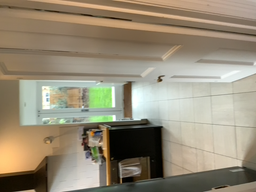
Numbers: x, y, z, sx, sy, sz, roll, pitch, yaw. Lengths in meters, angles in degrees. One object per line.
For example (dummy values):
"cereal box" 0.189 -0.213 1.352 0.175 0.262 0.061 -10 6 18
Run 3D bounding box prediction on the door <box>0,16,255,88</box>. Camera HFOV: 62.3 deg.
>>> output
"door" 0.130 -0.180 1.360 0.780 1.980 0.040 144 123 -66
